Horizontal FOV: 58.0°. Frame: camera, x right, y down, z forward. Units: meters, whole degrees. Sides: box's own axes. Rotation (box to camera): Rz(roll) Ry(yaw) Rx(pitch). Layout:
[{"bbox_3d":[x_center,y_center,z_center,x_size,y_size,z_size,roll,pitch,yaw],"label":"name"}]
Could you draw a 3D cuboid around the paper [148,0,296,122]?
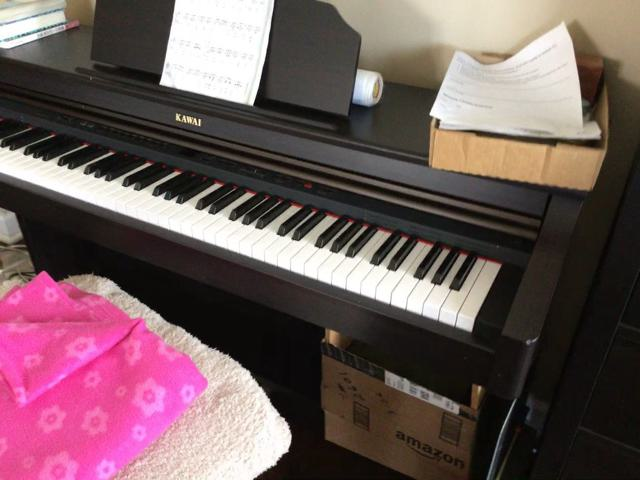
[{"bbox_3d":[-0.170,-0.390,1.030,0.220,0.310,0.090,17,15,21],"label":"paper"}]
